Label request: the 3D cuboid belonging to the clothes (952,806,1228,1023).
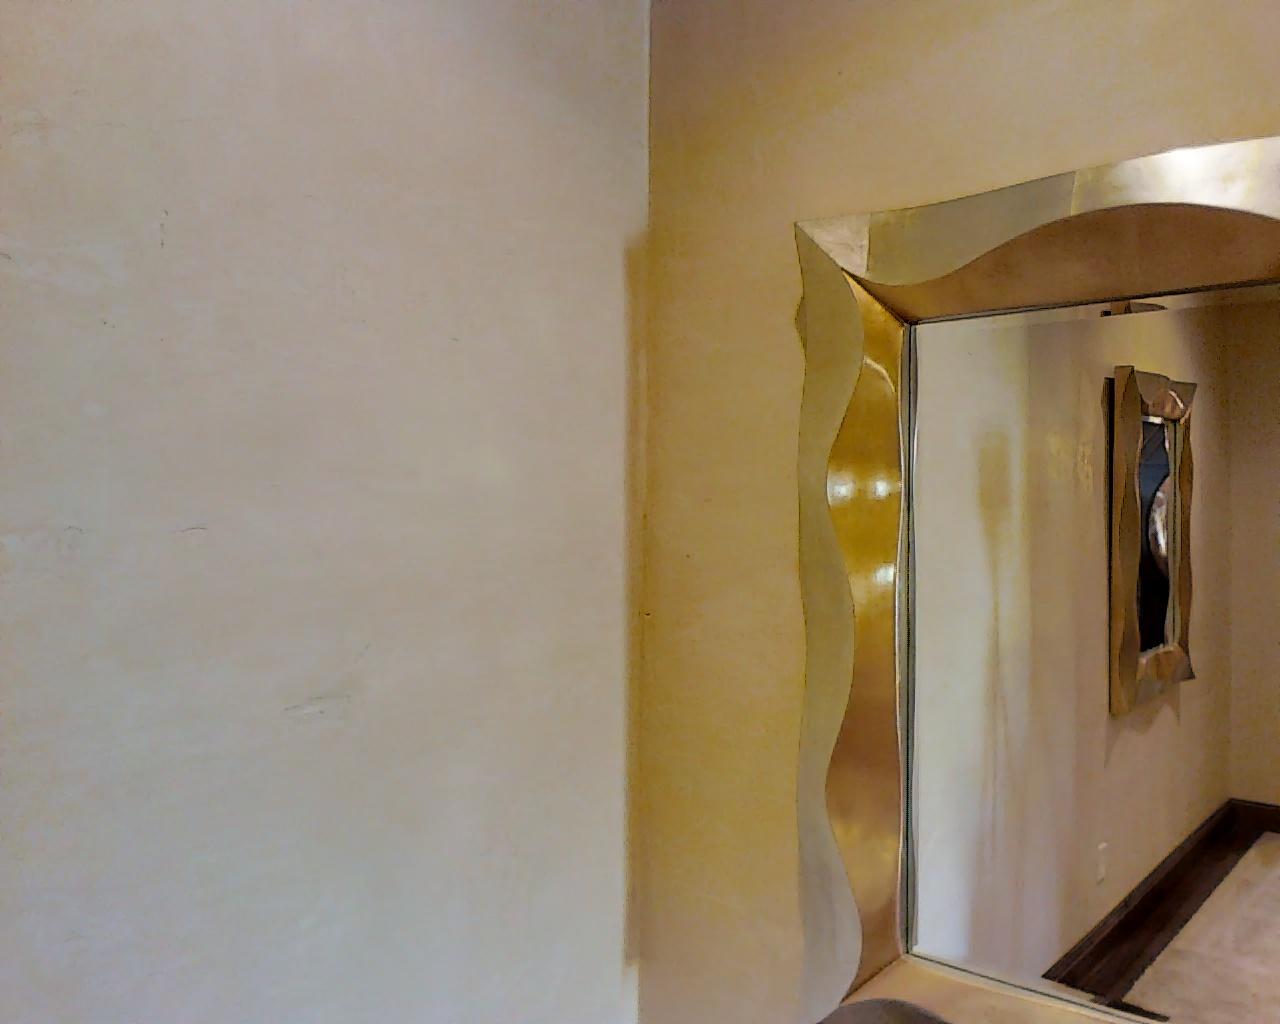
[{"bbox_3d":[1.380,1.330,3.180,0.390,0.590,1.250,0,0,41],"label":"clothes"}]
